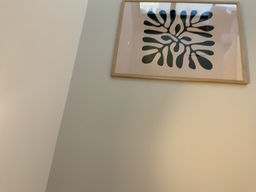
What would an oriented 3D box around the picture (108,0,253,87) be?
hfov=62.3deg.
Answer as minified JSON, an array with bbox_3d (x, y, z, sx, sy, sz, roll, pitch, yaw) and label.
[{"bbox_3d":[0.340,-0.390,1.420,0.040,0.870,0.630,76,-161,-70],"label":"picture"}]
